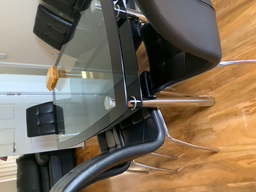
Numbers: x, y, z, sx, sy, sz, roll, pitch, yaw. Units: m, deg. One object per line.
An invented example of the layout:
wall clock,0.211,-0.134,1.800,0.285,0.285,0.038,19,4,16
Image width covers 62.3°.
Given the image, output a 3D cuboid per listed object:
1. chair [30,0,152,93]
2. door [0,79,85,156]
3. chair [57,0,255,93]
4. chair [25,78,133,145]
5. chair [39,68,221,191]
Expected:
chair,-0.340,-0.390,1.920,0.440,0.920,0.590,-38,58,51
door,-1.780,0.270,2.920,0.050,2.340,1.080,-35,61,53
chair,0.250,-0.320,0.950,0.590,0.940,0.440,-31,64,54
chair,-0.530,0.170,2.220,0.600,0.920,0.440,-41,56,50
chair,0.010,0.220,1.320,0.440,0.960,0.590,-32,63,54
